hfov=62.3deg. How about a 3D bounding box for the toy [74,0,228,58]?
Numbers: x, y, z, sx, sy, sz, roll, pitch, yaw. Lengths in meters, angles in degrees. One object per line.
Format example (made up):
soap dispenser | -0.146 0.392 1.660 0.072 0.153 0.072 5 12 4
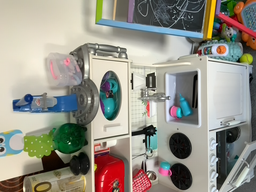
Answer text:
toy | 0.150 -0.530 0.890 0.290 0.600 0.520 3 78 49

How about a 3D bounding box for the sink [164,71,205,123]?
sink | 0.260 0.000 0.990 0.180 0.060 0.220 3 94 49

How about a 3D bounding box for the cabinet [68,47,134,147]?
cabinet | -0.100 0.000 0.800 0.140 0.200 0.320 3 94 49
